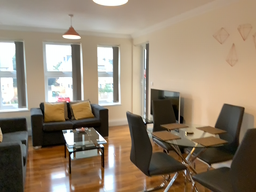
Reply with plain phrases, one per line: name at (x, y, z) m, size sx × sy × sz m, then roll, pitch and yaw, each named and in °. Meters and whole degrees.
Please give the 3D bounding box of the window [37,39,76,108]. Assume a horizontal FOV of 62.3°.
window at (-1.770, -0.560, 5.320) m, size 0.870 × 1.650 × 0.090 m, roll -3°, pitch 7°, yaw -20°

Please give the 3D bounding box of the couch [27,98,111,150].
couch at (-1.260, 0.530, 4.580) m, size 1.550 × 0.770 × 0.950 m, roll -3°, pitch 7°, yaw -21°
